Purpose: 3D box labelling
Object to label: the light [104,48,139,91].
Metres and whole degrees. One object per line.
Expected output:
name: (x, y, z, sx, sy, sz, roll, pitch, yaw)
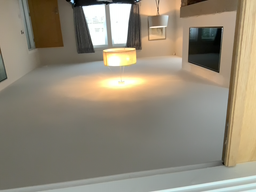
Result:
light: (-0.140, -0.520, 3.960, 0.560, 0.640, 0.690, -5, -162, -7)
